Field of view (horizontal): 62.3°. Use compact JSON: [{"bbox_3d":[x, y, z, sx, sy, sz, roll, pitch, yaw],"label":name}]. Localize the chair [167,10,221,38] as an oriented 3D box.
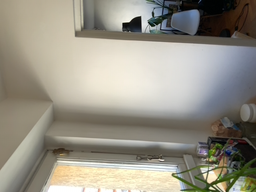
[{"bbox_3d":[1.260,-1.450,4.210,0.740,0.800,0.420,-91,4,-66],"label":"chair"}]
